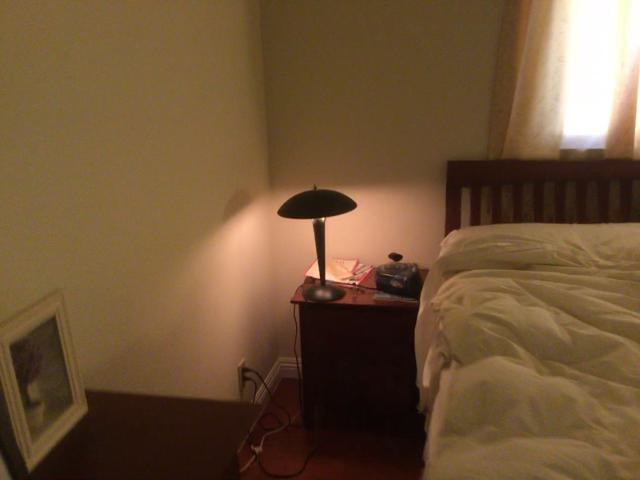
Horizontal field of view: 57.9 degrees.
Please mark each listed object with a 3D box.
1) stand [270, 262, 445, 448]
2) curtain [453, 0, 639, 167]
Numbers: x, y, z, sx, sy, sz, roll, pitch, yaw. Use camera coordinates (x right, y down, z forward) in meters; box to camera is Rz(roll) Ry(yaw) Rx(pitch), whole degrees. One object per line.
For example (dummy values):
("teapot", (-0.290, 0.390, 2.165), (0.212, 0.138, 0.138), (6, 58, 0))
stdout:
("stand", (0.190, 0.460, 2.450), (0.640, 0.620, 0.450), (-2, 13, 12))
("curtain", (1.400, -0.640, 2.140), (1.750, 0.610, 0.210), (-2, 13, 12))
